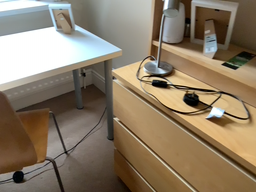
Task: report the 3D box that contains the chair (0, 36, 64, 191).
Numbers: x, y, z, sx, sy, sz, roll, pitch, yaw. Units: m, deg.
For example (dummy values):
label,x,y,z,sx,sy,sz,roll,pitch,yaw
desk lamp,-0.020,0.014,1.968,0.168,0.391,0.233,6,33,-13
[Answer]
label,x,y,z,sx,sy,sz,roll,pitch,yaw
chair,-0.590,0.230,1.010,0.420,0.830,0.510,-10,38,-15

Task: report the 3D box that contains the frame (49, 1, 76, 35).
label,x,y,z,sx,sy,sz,roll,pitch,yaw
frame,-0.430,-0.520,1.410,0.130,0.180,0.130,-1,36,-5
